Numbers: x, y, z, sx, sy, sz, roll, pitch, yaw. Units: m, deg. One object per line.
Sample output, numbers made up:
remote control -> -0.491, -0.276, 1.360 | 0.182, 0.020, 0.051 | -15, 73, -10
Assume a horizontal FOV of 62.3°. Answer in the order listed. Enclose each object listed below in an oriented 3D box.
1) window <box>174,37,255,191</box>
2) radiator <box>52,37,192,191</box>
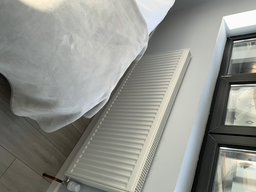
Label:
window -> 1.030, 0.290, 1.050 | 2.300, 1.440, 0.080 | -60, 135, -36
radiator -> 0.030, 0.030, 1.540 | 0.110, 0.580, 1.260 | 58, 45, -37
